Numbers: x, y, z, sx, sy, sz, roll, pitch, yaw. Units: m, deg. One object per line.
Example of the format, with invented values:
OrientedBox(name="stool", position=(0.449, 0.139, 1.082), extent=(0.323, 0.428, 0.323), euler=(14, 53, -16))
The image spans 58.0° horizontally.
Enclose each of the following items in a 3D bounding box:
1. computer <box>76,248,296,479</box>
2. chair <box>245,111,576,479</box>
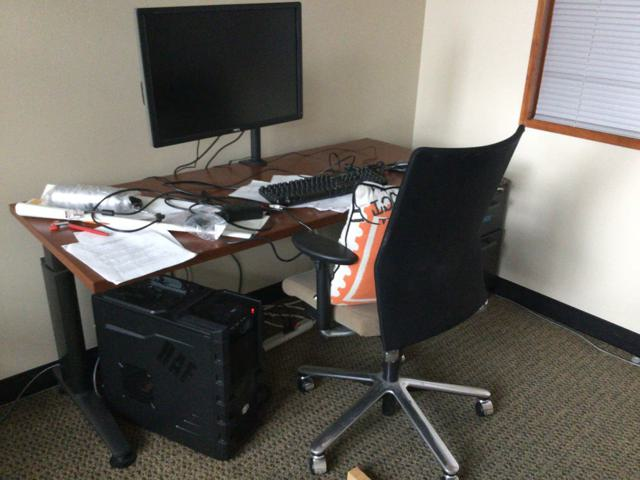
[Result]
OrientedBox(name="computer", position=(-0.440, 0.370, 1.870), extent=(0.430, 0.480, 0.600), euler=(-13, 23, -40))
OrientedBox(name="chair", position=(0.230, 0.160, 1.760), extent=(0.650, 1.010, 0.650), euler=(-13, 23, -40))
